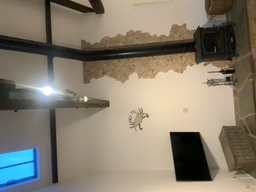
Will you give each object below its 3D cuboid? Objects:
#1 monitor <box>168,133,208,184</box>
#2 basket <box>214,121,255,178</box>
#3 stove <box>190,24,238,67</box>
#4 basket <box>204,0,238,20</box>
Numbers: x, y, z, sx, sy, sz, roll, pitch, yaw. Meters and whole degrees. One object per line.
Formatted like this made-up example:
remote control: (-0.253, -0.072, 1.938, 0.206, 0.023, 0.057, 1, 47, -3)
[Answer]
monitor: (1.000, 1.040, 3.660, 0.950, 0.540, 0.060, -84, -12, -48)
basket: (1.730, 0.870, 3.480, 0.470, 0.350, 0.760, 81, -173, -46)
stove: (1.510, -0.890, 3.810, 0.440, 0.650, 0.600, 44, -137, -82)
basket: (1.620, -1.840, 3.790, 0.540, 0.380, 0.730, 37, -130, -83)
